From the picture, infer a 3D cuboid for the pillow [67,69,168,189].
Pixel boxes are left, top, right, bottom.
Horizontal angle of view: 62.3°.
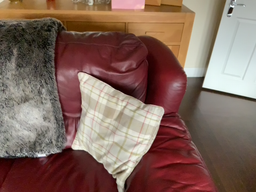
[{"bbox_3d":[-0.060,0.130,0.950,0.380,0.350,0.190,28,42,32],"label":"pillow"}]
